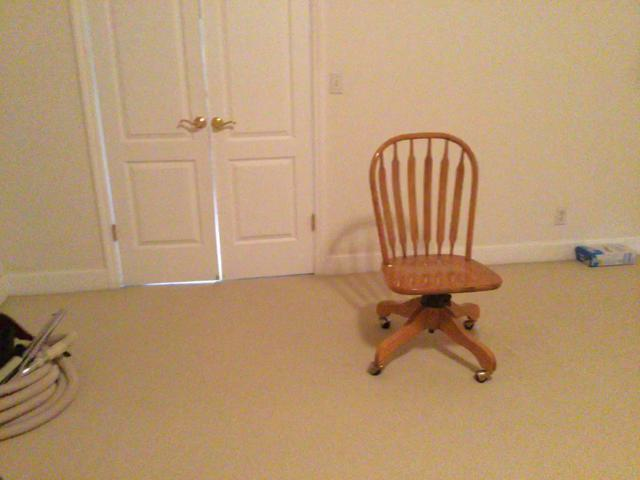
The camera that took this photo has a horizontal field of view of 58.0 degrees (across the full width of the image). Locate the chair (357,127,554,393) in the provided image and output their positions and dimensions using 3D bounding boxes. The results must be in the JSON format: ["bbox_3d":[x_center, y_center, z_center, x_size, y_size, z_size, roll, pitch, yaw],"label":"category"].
[{"bbox_3d":[0.510,0.050,2.460,0.670,0.950,0.660,-2,17,4],"label":"chair"}]
